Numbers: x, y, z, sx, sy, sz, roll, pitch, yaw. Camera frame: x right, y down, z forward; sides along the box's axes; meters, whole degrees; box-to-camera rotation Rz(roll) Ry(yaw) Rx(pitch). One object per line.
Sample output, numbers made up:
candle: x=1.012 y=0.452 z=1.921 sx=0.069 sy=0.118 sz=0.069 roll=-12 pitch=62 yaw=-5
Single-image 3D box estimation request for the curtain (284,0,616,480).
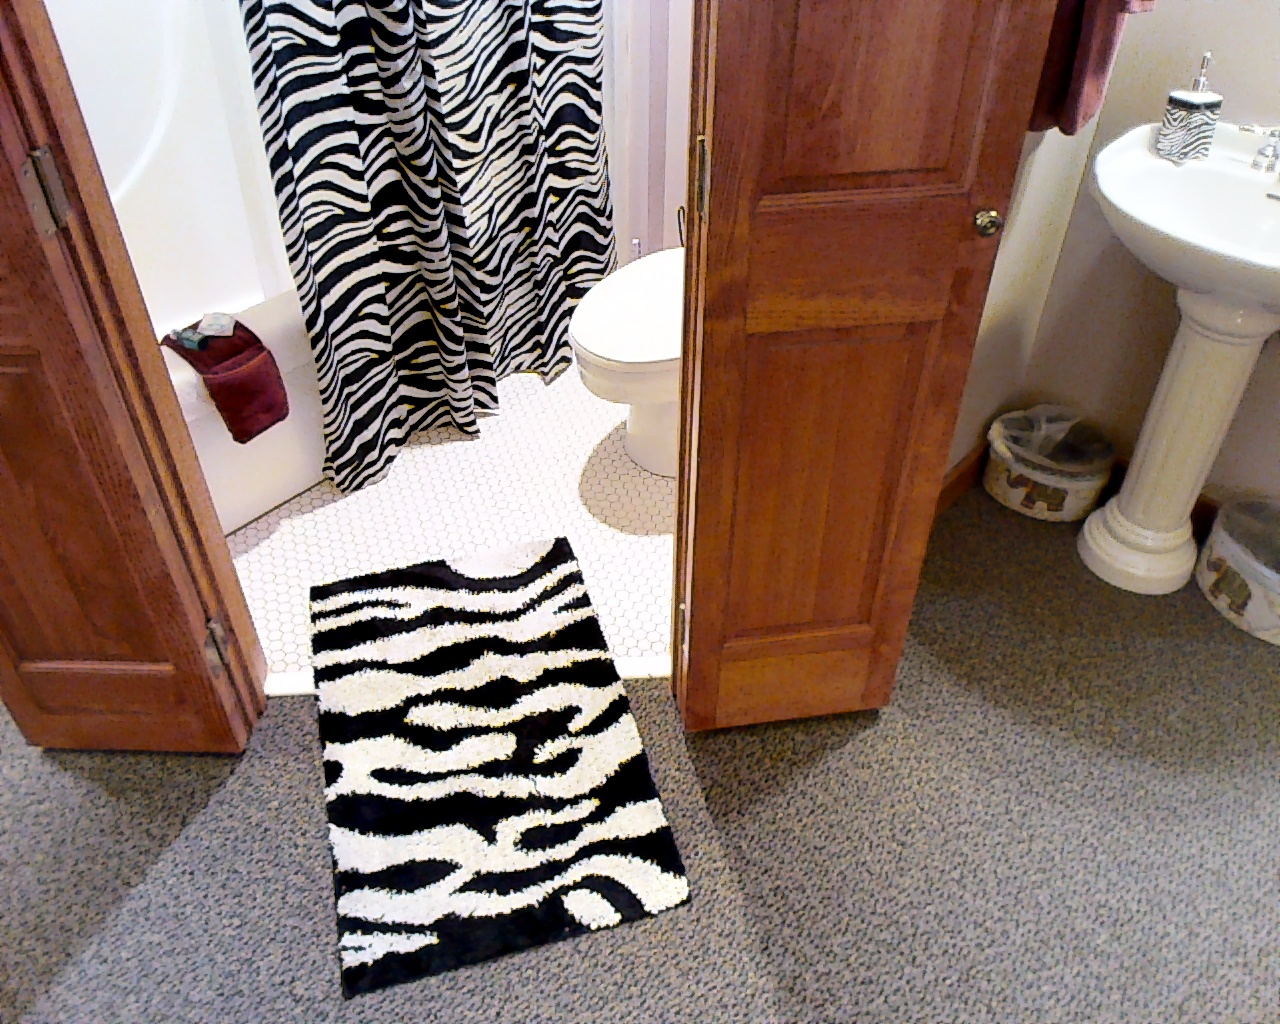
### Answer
curtain: x=-0.350 y=-0.970 z=2.090 sx=0.180 sy=1.860 sz=0.640 roll=30 pitch=50 yaw=30
